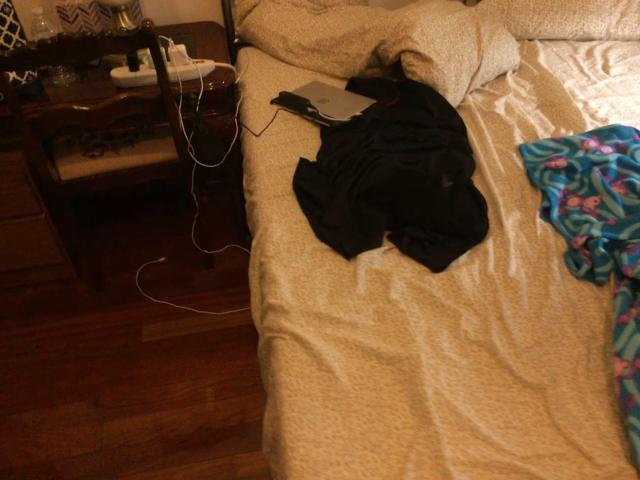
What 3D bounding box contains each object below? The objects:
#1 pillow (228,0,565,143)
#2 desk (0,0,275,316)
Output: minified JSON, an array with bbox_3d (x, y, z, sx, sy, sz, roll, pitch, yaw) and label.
[{"bbox_3d":[0.140,-0.570,1.580,0.740,0.180,0.660,-9,43,-6],"label":"pillow"},{"bbox_3d":[-0.870,-0.250,1.730,1.350,0.760,0.540,-9,43,-6],"label":"desk"}]
